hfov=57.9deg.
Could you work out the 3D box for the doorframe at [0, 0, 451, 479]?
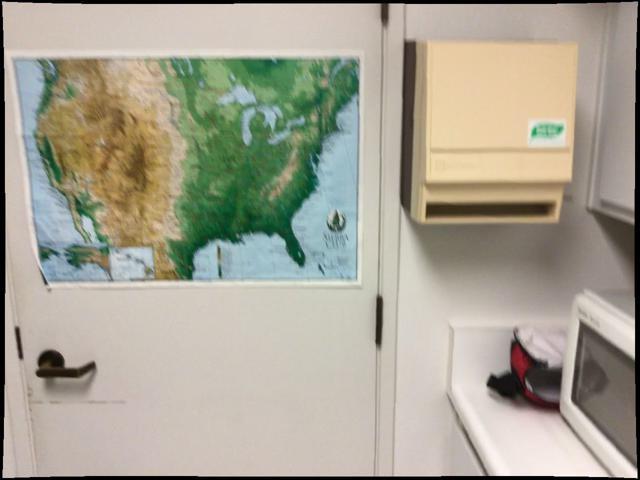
[{"bbox_3d":[-0.280,0.200,1.450,1.079,2.072,0.120,1,14,-1],"label":"doorframe"}]
